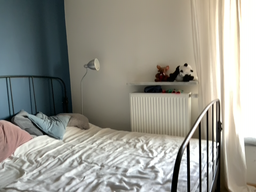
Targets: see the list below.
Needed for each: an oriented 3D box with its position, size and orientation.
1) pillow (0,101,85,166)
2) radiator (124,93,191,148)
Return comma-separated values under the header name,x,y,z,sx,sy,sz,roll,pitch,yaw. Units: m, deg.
name,x,y,z,sx,sy,sz,roll,pitch,yaw
pillow,-1.110,0.350,2.290,0.470,0.390,1.400,2,8,27
radiator,0.350,0.270,2.560,0.770,0.570,0.200,2,8,28
